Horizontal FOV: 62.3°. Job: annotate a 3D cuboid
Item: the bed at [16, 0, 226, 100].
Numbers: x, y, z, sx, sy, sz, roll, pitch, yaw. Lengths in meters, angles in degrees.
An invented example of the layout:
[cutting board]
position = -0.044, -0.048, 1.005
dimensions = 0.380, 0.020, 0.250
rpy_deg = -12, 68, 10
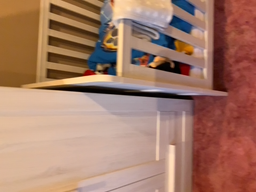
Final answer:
[bed]
position = -0.010, -0.770, 1.280
dimensions = 0.810, 0.930, 1.550
rpy_deg = -2, 86, 45
